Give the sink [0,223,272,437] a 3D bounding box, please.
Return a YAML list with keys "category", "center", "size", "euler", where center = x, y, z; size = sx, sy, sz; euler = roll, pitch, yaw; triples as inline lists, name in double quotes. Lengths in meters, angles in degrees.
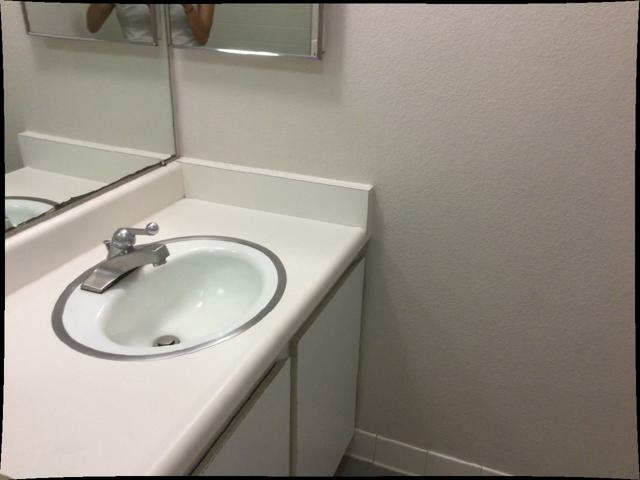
- category: "sink"
  center: [-0.359, 0.150, 1.250]
  size: [0.310, 0.140, 0.530]
  euler: [12, 27, 19]
